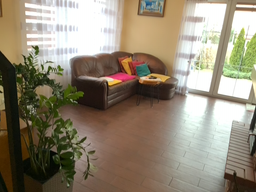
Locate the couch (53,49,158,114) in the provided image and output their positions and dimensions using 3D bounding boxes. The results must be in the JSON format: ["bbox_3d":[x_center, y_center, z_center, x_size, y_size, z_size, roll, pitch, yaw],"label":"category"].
[{"bbox_3d":[-0.320,-0.510,4.790,1.100,0.870,2.510,14,19,25],"label":"couch"}]

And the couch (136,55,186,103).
[{"bbox_3d":[0.810,-0.460,5.000,0.730,0.840,1.120,14,19,25],"label":"couch"}]
